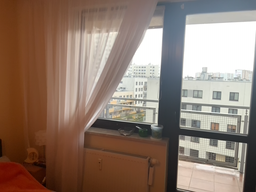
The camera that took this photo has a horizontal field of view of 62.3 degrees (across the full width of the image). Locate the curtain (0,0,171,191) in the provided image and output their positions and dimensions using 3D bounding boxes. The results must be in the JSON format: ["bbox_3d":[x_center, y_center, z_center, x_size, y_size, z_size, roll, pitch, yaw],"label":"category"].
[{"bbox_3d":[-0.570,-0.020,2.320,1.940,2.290,0.250,4,6,18],"label":"curtain"}]
